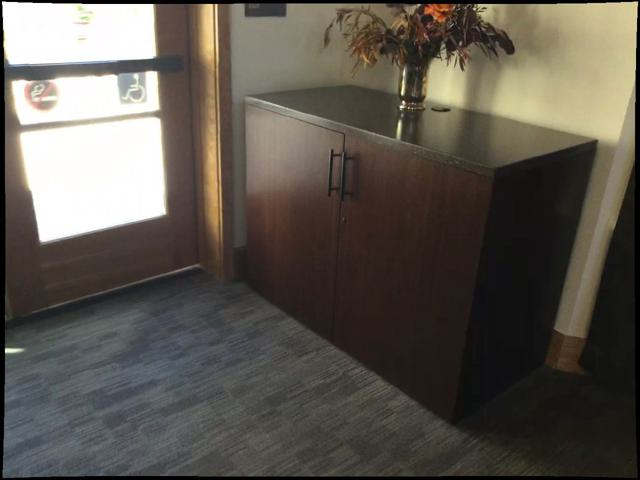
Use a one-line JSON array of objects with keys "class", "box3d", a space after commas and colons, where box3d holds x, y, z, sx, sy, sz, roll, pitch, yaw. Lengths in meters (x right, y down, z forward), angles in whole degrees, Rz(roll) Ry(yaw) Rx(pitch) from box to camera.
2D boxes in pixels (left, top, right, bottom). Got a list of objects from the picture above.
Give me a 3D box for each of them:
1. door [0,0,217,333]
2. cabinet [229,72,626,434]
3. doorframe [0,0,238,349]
[{"class": "door", "box3d": [-1.289, -0.561, 2.060, 1.779, 1.862, 0.400, -17, 32, -35]}, {"class": "cabinet", "box3d": [0.290, -0.100, 2.360, 0.700, 0.881, 1.360, -17, 32, -35]}, {"class": "doorframe", "box3d": [-1.209, -0.501, 1.930, 1.919, 1.852, 0.330, -17, 32, -35]}]
